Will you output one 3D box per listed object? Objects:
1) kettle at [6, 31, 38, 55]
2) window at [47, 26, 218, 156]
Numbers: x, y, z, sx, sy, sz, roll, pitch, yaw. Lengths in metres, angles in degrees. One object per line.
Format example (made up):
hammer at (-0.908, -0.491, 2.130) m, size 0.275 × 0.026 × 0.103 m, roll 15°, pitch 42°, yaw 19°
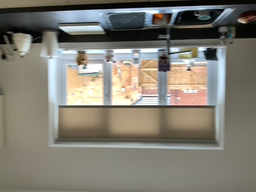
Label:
kettle at (-1.060, -0.530, 2.130) m, size 0.240 × 0.200 × 0.160 m, roll 0°, pitch -178°, yaw 7°
window at (0.040, -0.040, 2.340) m, size 1.800 × 1.370 × 0.170 m, roll 0°, pitch -178°, yaw 2°
